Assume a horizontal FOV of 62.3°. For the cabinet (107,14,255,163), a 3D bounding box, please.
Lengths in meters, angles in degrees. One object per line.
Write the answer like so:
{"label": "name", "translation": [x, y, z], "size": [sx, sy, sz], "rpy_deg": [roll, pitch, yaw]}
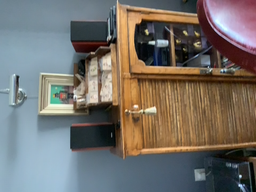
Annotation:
{"label": "cabinet", "translation": [0.490, -0.020, 1.470], "size": [0.420, 1.200, 0.800], "rpy_deg": [146, 123, -72]}
